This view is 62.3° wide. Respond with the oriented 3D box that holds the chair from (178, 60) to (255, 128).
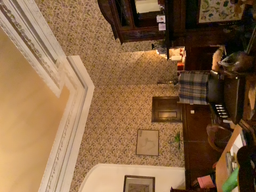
[{"bbox_3d":[1.280,-0.060,3.090,0.820,1.050,0.710,-62,-31,-66],"label":"chair"}]
